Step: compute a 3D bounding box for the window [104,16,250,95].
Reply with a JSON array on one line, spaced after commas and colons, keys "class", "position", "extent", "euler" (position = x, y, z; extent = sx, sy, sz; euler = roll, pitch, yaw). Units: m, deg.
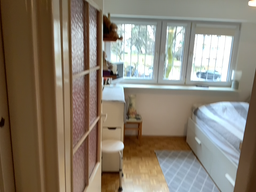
[{"class": "window", "position": [0.830, -0.680, 3.780], "extent": [2.490, 1.250, 0.180], "euler": [1, 13, -5]}]
